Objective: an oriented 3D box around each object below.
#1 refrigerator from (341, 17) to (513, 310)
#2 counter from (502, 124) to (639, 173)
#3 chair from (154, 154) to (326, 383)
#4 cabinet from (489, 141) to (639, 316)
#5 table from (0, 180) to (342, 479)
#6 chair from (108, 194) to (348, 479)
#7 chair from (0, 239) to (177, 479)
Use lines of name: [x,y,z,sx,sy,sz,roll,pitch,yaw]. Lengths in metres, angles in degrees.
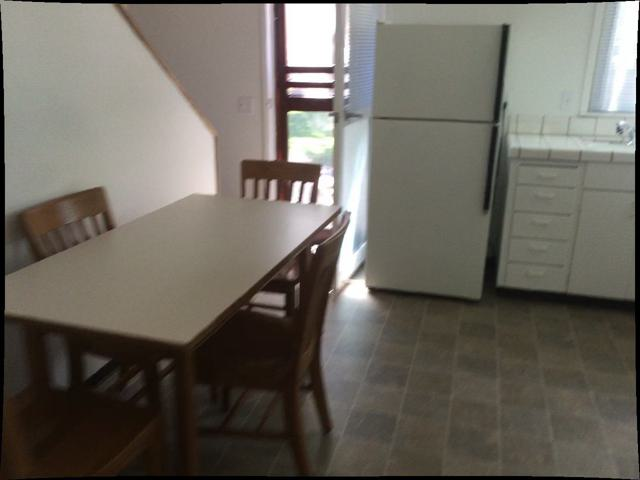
refrigerator: [0.629,-0.501,3.520,0.839,1.582,0.760,5,20,13]
counter: [2.087,-0.481,3.140,2.057,0.120,0.710,5,20,13]
chair: [-0.339,0.100,2.830,0.599,0.901,0.630,5,20,13]
cabinet: [1.747,-0.040,3.150,1.498,0.911,0.180,5,20,13]
table: [-0.549,0.351,2.260,0.969,0.791,1.490,5,20,13]
chair: [-0.270,0.351,2.030,0.639,0.891,0.480,5,20,13]
chair: [-0.759,0.531,1.490,0.519,0.901,0.550,5,20,13]
